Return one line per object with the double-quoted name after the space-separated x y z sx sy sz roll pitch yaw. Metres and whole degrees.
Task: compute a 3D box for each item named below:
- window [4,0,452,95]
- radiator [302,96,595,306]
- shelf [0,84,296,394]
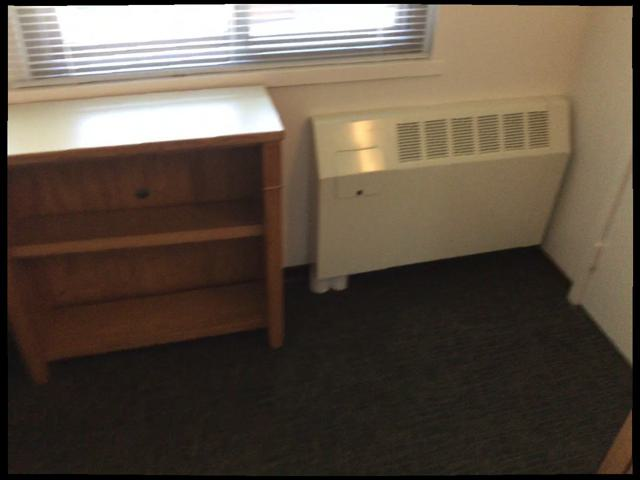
-0.220 -0.872 1.530 1.188 0.821 0.270 -8 37 -12 "window"
0.409 -0.130 2.010 0.928 0.641 0.160 -8 37 -13 "radiator"
-0.519 0.000 1.690 0.849 0.761 0.320 -8 37 -12 "shelf"
